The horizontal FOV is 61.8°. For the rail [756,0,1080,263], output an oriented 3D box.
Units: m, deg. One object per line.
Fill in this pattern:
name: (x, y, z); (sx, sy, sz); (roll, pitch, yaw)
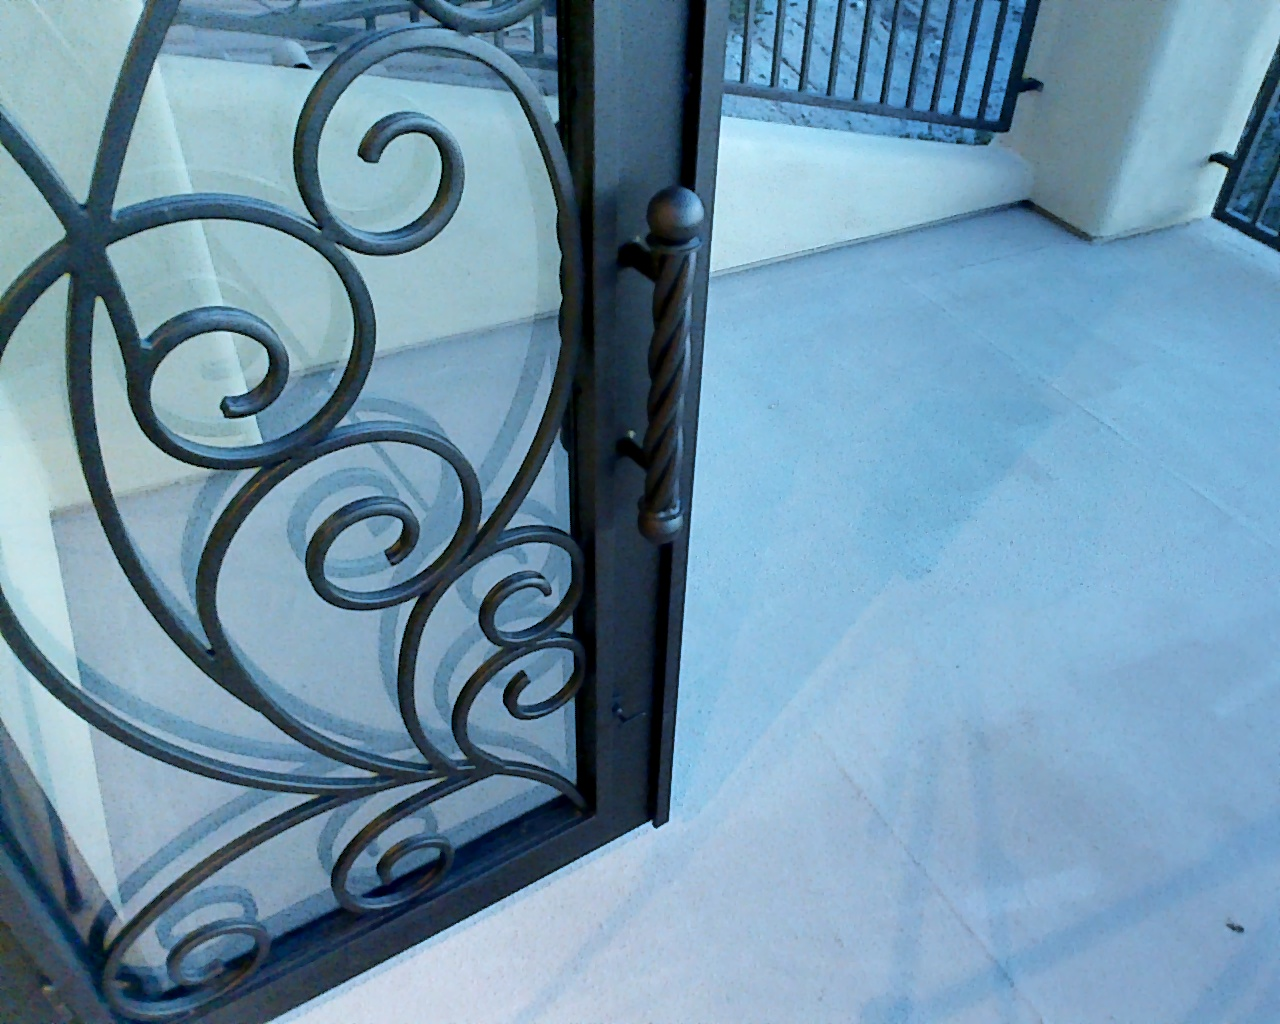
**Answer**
rail: (0.850, -1.379, 3.150); (0.980, 1.110, 0.170); (-19, 46, -21)
